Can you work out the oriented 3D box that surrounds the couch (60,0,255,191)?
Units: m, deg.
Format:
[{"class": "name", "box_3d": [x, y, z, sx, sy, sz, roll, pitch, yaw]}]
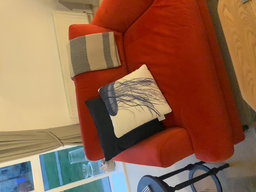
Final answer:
[{"class": "couch", "box_3d": [0.120, -0.160, 1.620, 1.040, 0.830, 1.380, -27, 73, 57]}]
